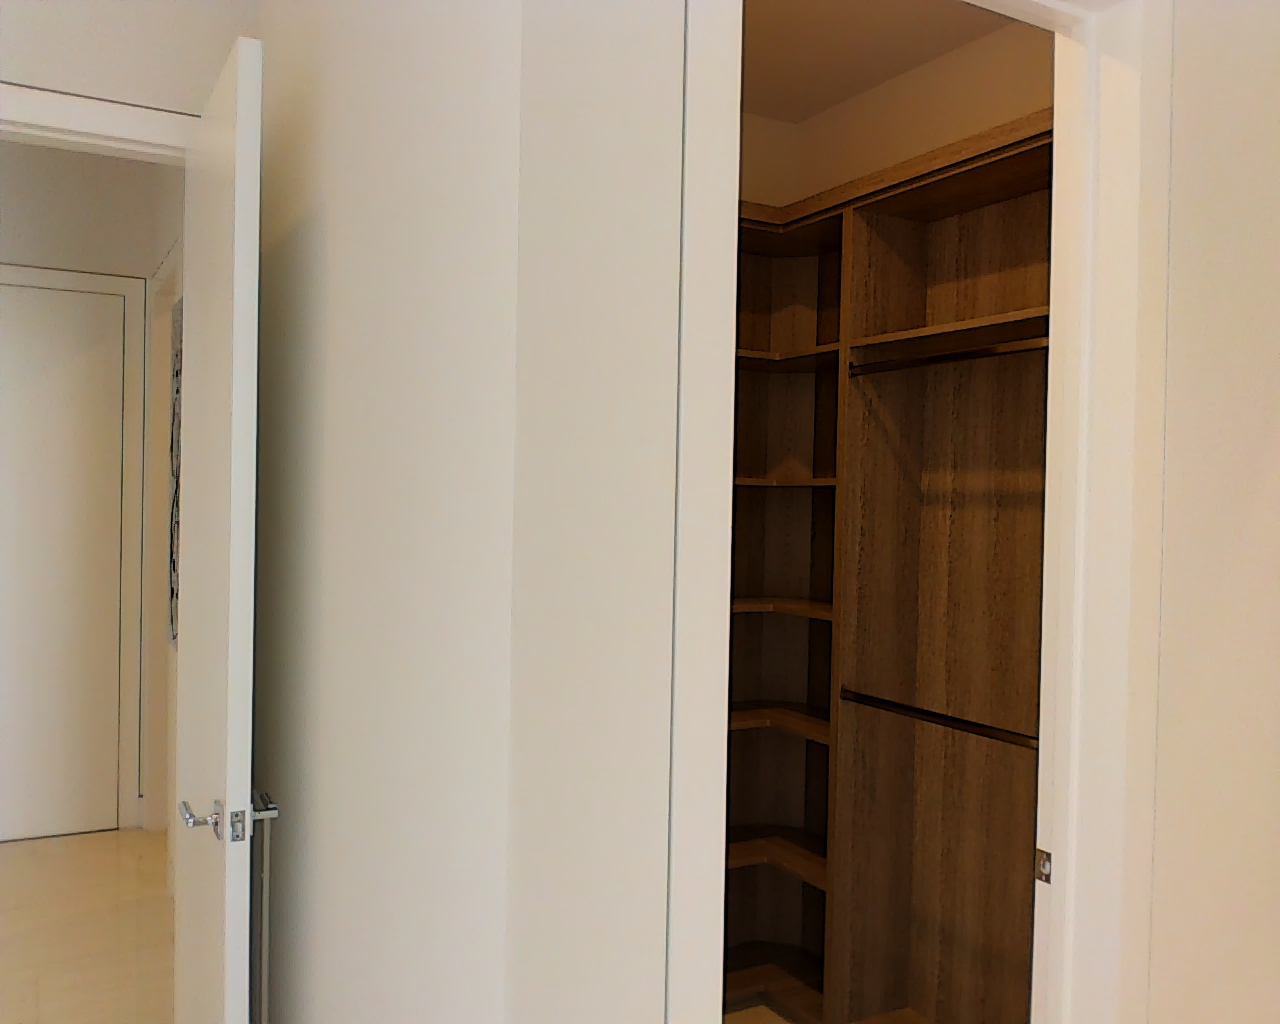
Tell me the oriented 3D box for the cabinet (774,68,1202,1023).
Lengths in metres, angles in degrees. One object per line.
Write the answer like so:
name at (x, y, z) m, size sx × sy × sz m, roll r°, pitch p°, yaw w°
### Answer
cabinet at (0.820, 0.300, 2.790) m, size 0.340 × 2.450 × 1.070 m, roll 0°, pitch 1°, yaw -29°

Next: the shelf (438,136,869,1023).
shelf at (0.060, 0.280, 3.220) m, size 1.210 × 2.460 × 0.430 m, roll 0°, pitch 1°, yaw -30°
